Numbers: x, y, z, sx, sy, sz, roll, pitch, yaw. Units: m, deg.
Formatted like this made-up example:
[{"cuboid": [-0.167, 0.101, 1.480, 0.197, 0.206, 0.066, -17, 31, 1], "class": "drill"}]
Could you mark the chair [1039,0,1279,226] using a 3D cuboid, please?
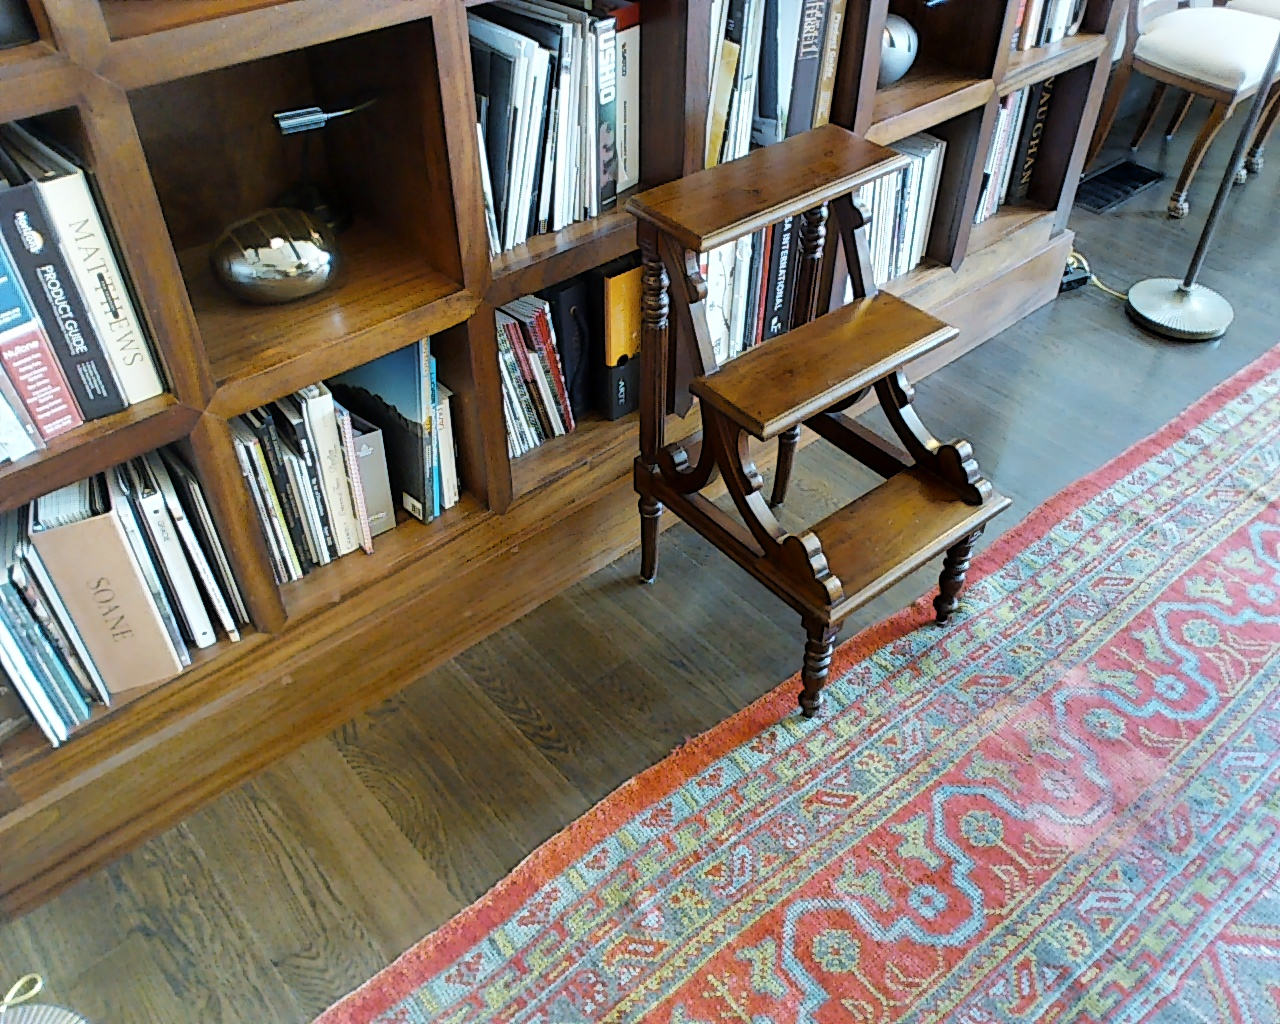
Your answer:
[{"cuboid": [1.670, -1.410, 3.210, 0.450, 0.840, 0.560, -30, 50, -30], "class": "chair"}]

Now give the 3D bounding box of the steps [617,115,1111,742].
[{"cuboid": [0.310, -0.140, 1.810, 0.450, 0.790, 0.540, -30, 50, -30], "class": "steps"}]
